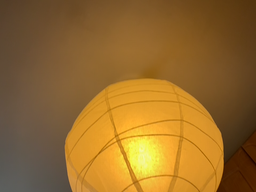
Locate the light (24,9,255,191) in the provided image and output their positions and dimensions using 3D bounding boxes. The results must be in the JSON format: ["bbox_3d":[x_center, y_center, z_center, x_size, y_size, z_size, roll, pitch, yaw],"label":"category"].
[{"bbox_3d":[0.050,0.110,0.750,0.490,0.480,0.630,-94,5,-45],"label":"light"}]
